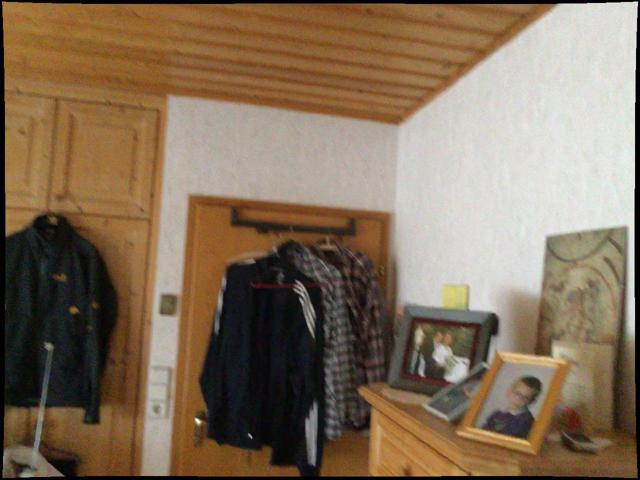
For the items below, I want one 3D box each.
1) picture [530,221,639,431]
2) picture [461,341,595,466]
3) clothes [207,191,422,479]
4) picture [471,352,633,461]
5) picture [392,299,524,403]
[{"bbox_3d":[0.629,0.190,1.400,0.060,0.450,0.300,4,-3,-11],"label":"picture"},{"bbox_3d":[0.380,0.290,1.070,0.140,0.180,0.180,5,-3,-27],"label":"picture"},{"bbox_3d":[-0.030,0.420,2.530,0.829,1.171,0.290,4,-3,-11],"label":"clothes"},{"bbox_3d":[0.420,0.300,1.070,0.200,0.150,0.190,4,-3,-11],"label":"picture"},{"bbox_3d":[0.350,0.280,1.520,0.220,0.220,0.300,4,-3,-12],"label":"picture"}]
